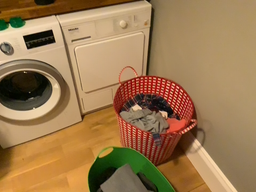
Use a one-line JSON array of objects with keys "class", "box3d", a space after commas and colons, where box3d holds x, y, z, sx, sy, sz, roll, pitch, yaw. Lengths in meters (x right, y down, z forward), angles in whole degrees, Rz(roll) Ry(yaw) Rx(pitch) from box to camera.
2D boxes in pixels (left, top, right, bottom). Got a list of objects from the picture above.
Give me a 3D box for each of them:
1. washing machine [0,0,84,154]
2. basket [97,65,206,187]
[{"class": "washing machine", "box3d": [-0.790, -0.230, 1.560, 0.610, 0.850, 0.780, -17, 47, -18]}, {"class": "basket", "box3d": [0.110, 0.180, 1.440, 0.450, 0.460, 0.540, -17, 47, -18]}]
